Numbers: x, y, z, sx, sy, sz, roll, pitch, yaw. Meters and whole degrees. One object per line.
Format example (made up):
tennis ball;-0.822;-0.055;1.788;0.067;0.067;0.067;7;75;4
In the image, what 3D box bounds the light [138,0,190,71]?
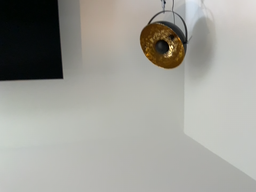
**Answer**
light;0.360;-1.120;2.170;0.480;1.700;0.250;7;-169;43
